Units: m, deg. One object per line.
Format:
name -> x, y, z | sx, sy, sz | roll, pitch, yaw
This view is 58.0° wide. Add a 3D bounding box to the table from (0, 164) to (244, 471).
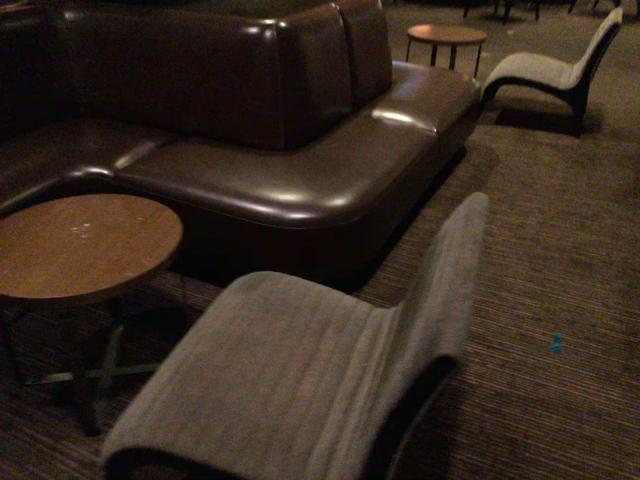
table -> -0.650, 0.180, 1.740 | 0.580, 0.540, 0.580 | 16, 34, 24
